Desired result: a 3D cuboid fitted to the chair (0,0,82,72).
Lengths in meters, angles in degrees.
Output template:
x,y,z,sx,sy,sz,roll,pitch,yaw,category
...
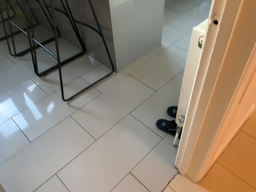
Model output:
x,y,z,sx,sy,sz,roll,pitch,yaw,category
-0.780,-0.790,1.670,0.400,1.030,0.480,34,57,30,chair
